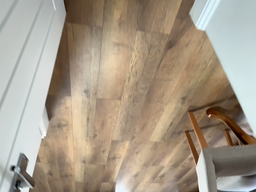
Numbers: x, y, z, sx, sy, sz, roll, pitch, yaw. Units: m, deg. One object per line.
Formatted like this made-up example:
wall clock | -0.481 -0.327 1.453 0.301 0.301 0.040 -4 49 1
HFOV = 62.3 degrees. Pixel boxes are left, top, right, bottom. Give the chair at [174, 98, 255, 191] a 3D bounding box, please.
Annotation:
chair | 0.740 0.560 1.630 0.550 0.980 0.420 -6 142 3

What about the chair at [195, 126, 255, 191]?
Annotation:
chair | 1.070 0.850 2.050 0.420 0.950 0.550 4 141 -10
